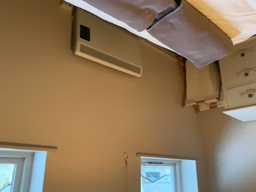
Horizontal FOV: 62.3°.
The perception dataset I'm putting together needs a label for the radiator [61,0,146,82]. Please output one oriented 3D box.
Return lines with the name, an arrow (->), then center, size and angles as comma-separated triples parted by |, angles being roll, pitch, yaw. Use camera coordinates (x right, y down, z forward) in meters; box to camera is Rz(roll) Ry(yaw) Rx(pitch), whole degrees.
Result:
radiator -> -0.160, -0.480, 1.810 | 0.750, 0.520, 0.140 | 17, 156, -40
